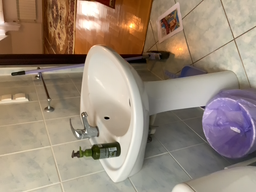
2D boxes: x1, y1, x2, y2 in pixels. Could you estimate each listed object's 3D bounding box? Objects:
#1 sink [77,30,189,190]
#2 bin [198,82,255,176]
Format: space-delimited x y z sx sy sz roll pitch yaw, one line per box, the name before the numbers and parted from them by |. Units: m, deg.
sink | -0.050 0.010 0.950 0.580 0.170 0.450 46 134 49
bin | 0.570 0.140 1.040 0.270 0.240 0.330 42 130 51
